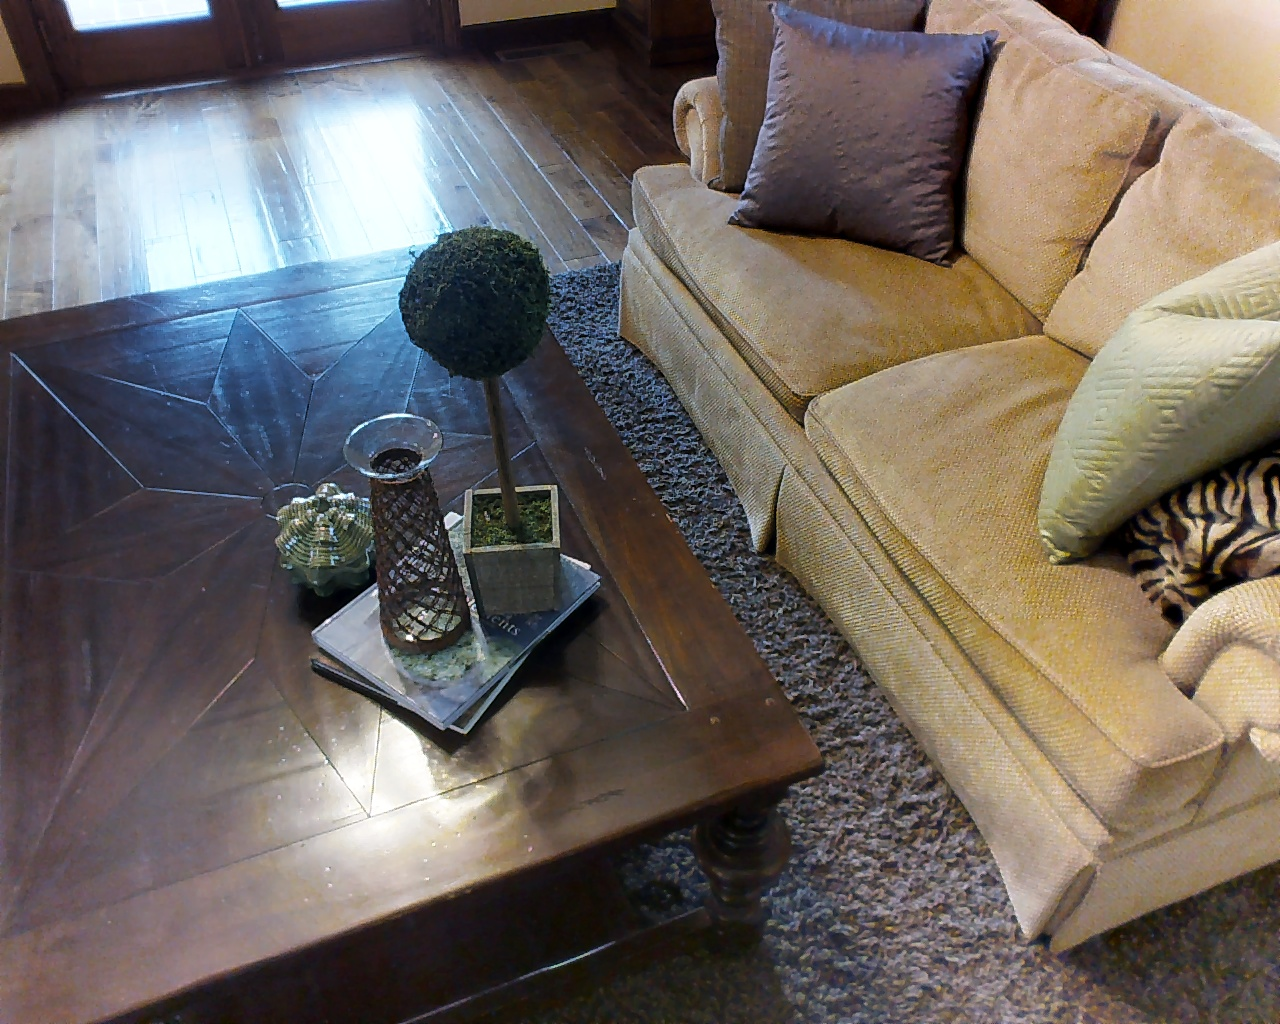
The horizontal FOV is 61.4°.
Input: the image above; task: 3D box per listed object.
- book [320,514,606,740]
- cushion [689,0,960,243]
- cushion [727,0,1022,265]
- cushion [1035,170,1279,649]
[{"bbox_3d":[-0.230,0.140,1.440,0.250,0.030,0.290,23,46,23],"label":"book"},{"bbox_3d":[0.410,-0.920,2.410,0.460,0.430,0.210,-20,39,18],"label":"cushion"},{"bbox_3d":[0.500,-0.780,2.240,0.490,0.420,0.240,2,46,29],"label":"cushion"},{"bbox_3d":[0.810,-0.160,1.530,0.310,0.440,0.470,15,52,35],"label":"cushion"}]
